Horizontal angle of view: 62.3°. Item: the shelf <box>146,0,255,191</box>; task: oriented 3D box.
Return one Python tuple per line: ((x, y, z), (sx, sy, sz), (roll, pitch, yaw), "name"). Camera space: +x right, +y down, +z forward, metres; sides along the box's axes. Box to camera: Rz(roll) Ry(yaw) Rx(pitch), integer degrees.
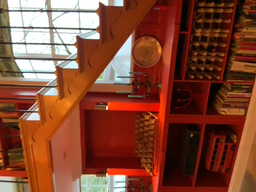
((0.920, 0.850, 3.070), (0.650, 1.110, 4.490), (-92, 5, -70), "shelf")
